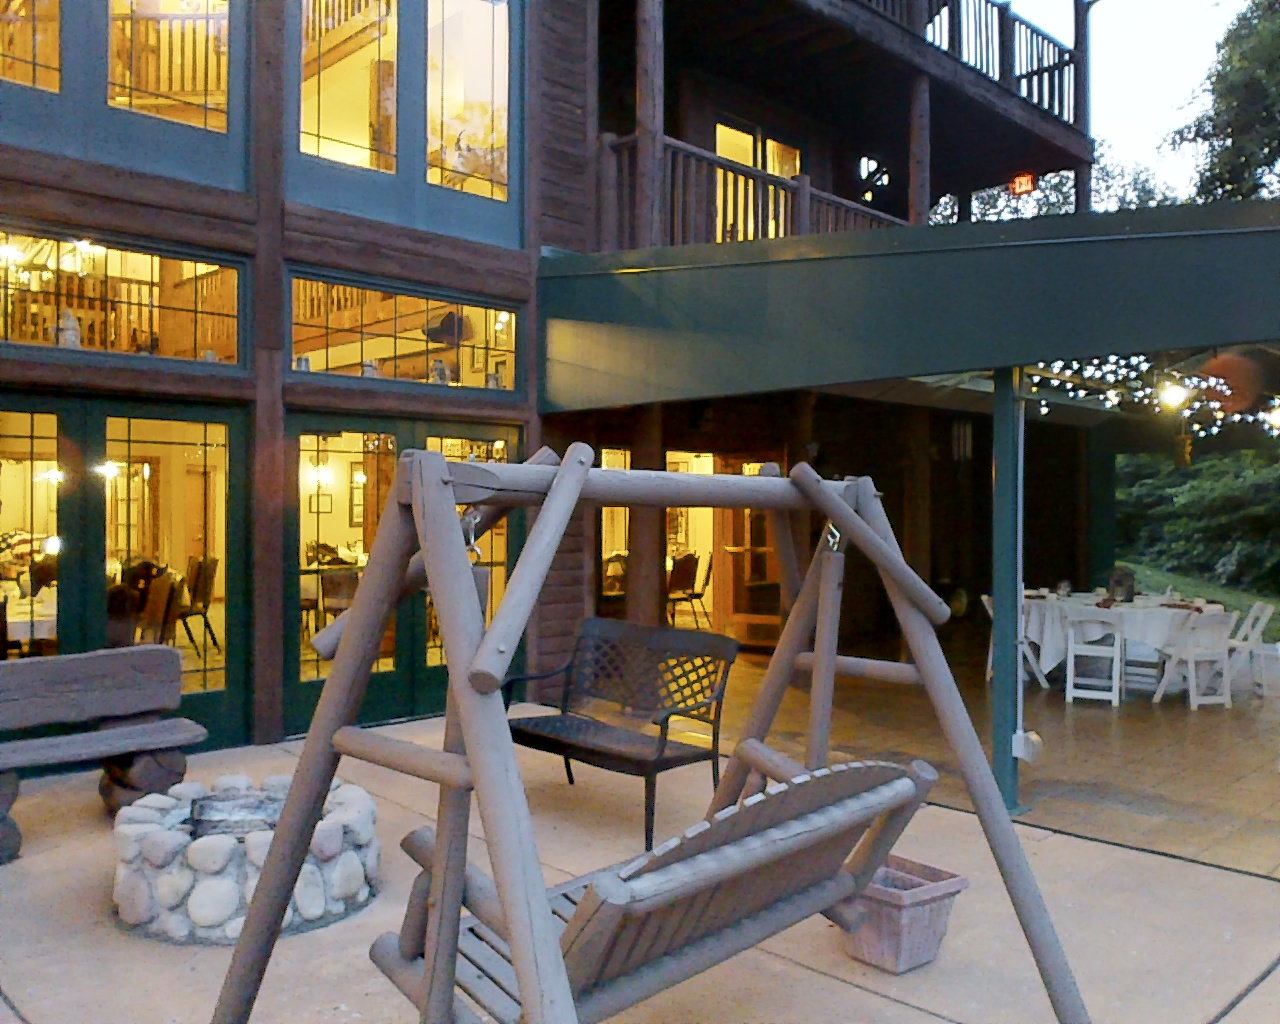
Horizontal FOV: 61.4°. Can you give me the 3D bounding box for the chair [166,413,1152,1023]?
[{"bbox_3d":[0.100,0.670,2.820,1.990,1.640,1.650,0,1,-45],"label":"chair"}]
